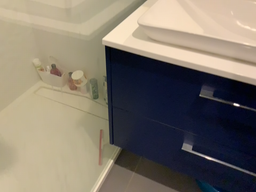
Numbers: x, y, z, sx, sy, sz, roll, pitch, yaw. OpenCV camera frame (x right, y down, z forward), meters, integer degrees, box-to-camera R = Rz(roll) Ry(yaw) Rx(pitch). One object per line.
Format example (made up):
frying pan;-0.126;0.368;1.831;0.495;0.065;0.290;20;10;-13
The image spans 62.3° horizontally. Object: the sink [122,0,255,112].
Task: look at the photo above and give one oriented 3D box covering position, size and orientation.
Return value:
sink;0.490;-0.170;0.740;0.900;0.190;0.490;18;44;17
